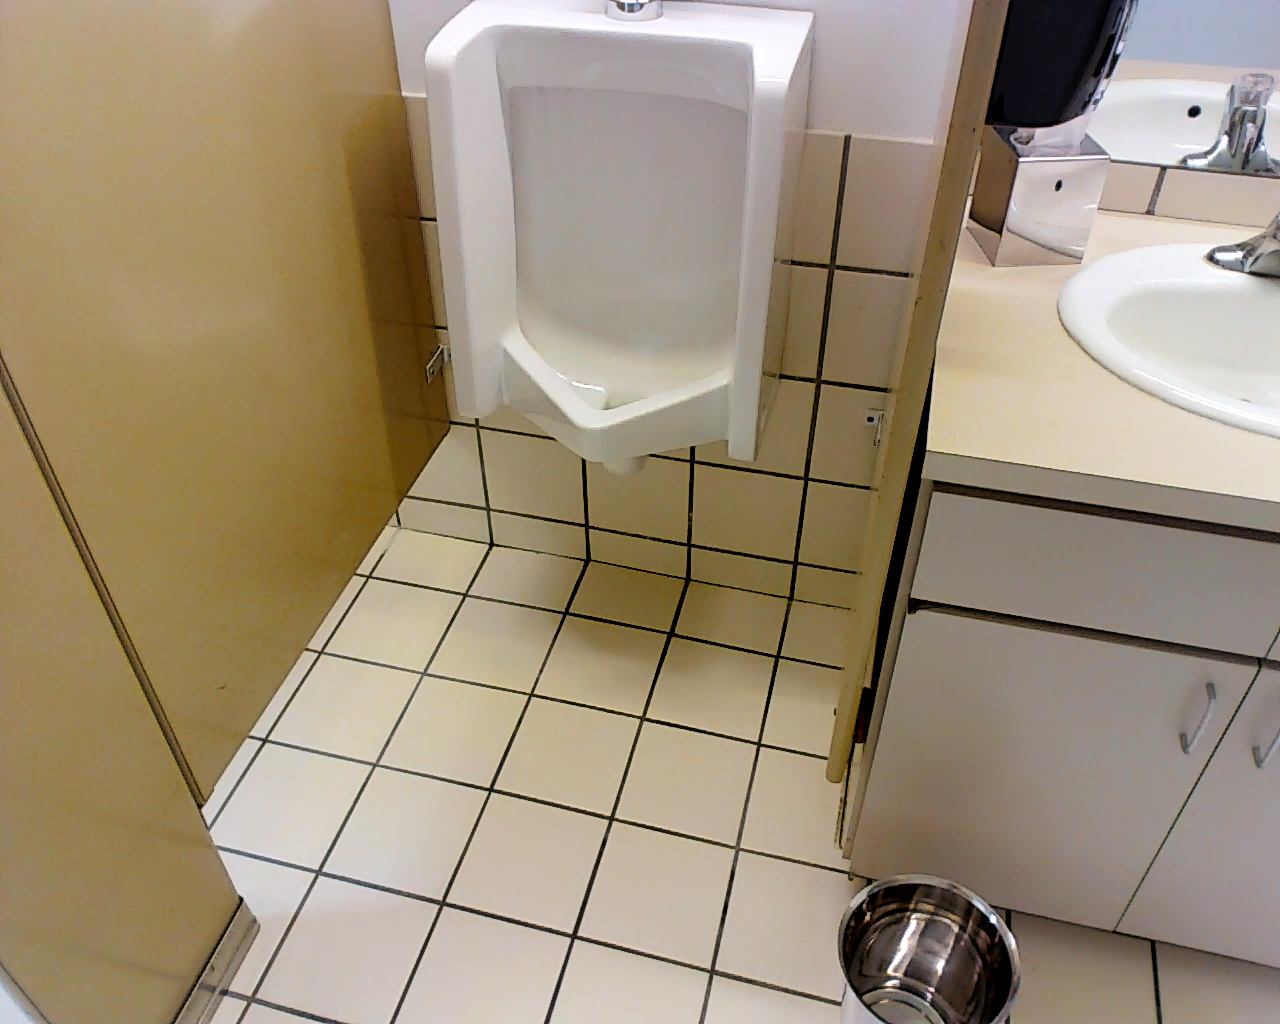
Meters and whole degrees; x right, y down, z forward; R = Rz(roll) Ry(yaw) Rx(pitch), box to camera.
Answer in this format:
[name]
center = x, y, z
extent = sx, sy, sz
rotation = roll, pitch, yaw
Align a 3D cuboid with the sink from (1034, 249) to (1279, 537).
[sink]
center = 0.740, -0.130, 1.230
extent = 0.520, 0.150, 0.320
rotation = 10, 42, 11
